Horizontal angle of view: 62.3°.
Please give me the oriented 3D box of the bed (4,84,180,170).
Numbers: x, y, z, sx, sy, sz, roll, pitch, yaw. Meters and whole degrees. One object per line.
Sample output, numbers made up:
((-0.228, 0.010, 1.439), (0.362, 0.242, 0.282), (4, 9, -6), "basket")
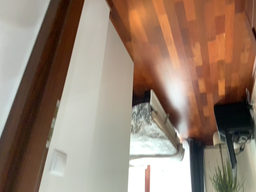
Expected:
((-0.340, 0.710, 3.400), (1.900, 0.460, 2.090), (-10, 148, 21), "bed")
